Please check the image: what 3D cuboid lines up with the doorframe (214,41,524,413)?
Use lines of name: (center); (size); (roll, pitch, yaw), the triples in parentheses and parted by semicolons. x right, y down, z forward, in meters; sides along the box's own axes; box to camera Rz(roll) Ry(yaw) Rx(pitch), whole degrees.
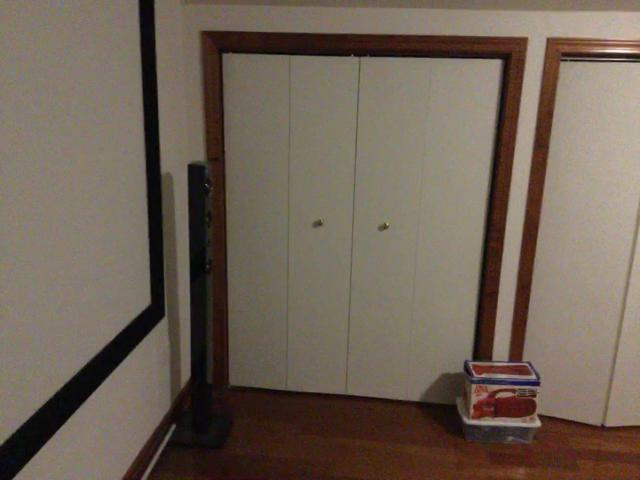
doorframe: (0.170, -0.030, 2.570); (1.230, 1.600, 0.140); (3, 14, 6)
